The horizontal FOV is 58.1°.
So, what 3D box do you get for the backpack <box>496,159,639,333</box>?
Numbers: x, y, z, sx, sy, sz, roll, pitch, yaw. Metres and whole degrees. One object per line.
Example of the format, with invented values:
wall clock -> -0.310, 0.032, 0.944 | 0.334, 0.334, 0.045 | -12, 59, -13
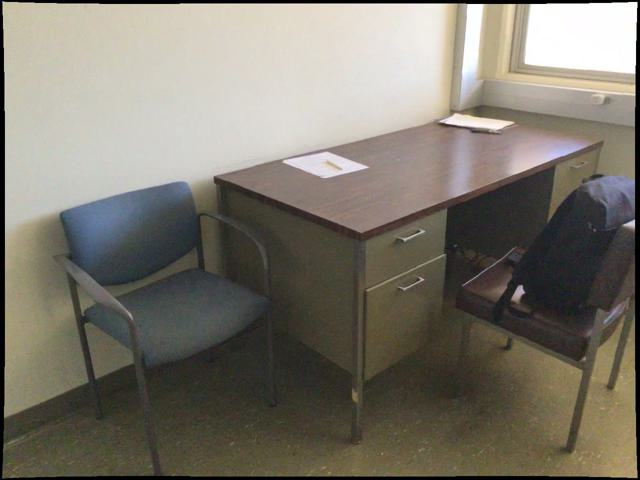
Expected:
backpack -> 0.828, 0.000, 1.860 | 0.340, 0.401, 0.330 | -22, 31, -37
